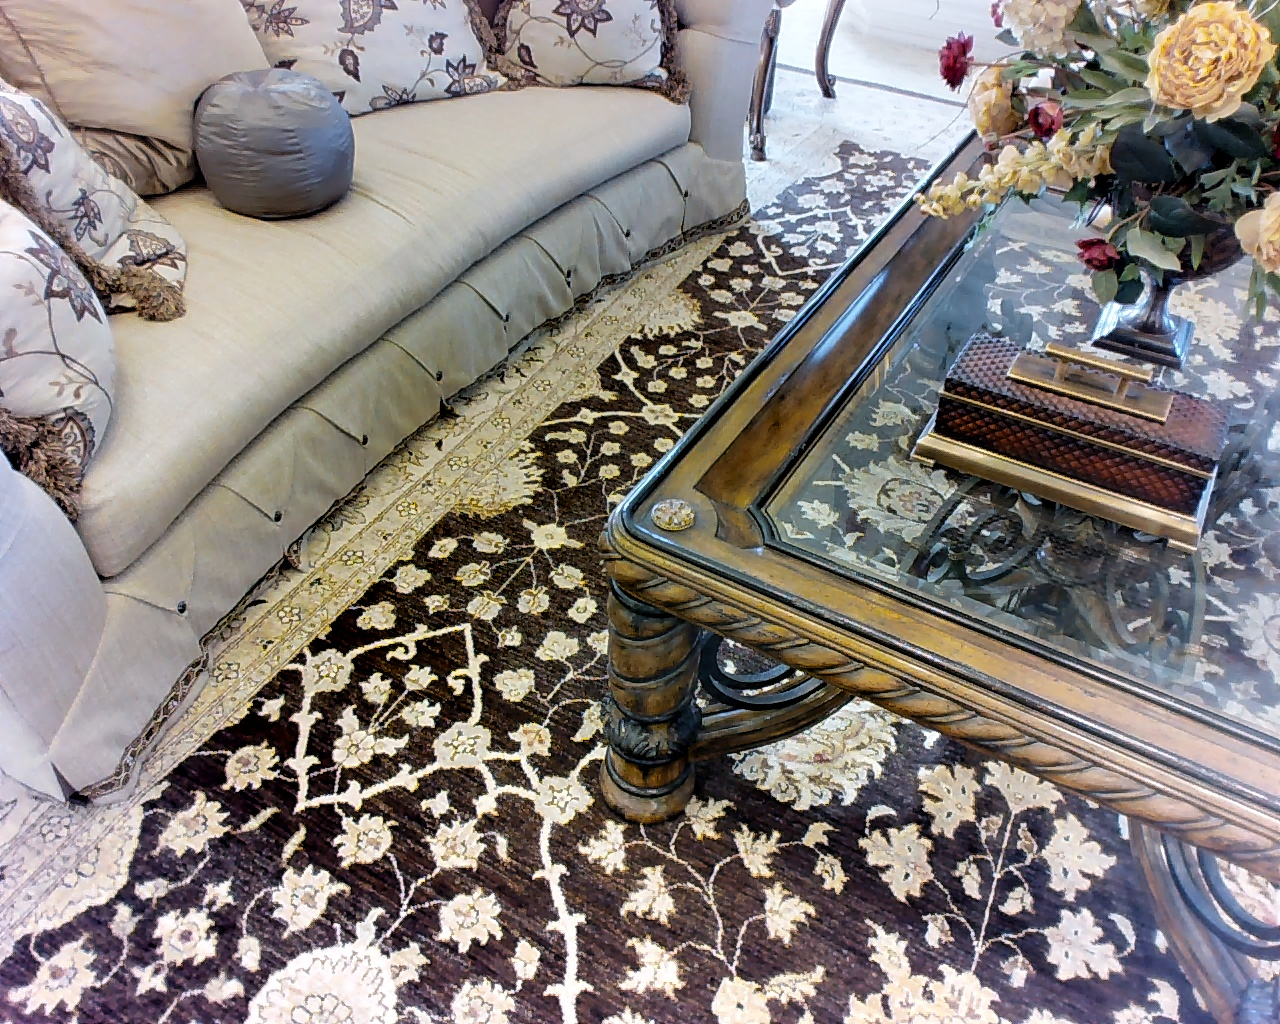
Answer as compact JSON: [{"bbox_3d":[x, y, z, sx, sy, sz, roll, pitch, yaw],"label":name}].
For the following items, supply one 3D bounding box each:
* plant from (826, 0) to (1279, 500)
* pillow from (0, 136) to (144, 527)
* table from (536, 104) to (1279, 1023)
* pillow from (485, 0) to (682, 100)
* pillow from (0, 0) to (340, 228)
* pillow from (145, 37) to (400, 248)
[{"bbox_3d":[0.890,-0.630,1.470,0.900,0.820,0.850,21,46,22],"label":"plant"},{"bbox_3d":[-0.920,-0.260,1.520,0.300,0.350,0.450,-13,44,-14],"label":"pillow"},{"bbox_3d":[0.770,-0.030,1.810,1.150,0.570,1.620,21,46,21],"label":"table"},{"bbox_3d":[-0.140,-1.300,2.690,0.470,0.390,0.330,-1,42,-2],"label":"pillow"},{"bbox_3d":[-1.030,-1.010,2.160,0.470,0.570,0.600,15,44,15],"label":"pillow"},{"bbox_3d":[-0.720,-0.750,2.140,0.290,0.250,0.340,19,45,20],"label":"pillow"}]
